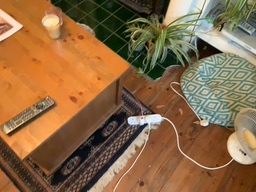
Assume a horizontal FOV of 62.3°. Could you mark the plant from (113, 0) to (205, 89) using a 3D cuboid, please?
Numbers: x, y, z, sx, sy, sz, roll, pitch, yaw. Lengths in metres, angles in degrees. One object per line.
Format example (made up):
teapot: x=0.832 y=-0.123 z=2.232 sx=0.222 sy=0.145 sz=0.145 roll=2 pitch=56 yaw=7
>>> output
plant: x=0.190 y=-0.420 z=1.580 sx=0.480 sy=0.440 sz=0.360 roll=40 pitch=66 yaw=15
